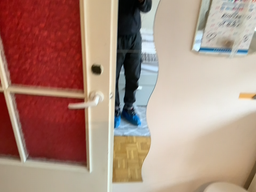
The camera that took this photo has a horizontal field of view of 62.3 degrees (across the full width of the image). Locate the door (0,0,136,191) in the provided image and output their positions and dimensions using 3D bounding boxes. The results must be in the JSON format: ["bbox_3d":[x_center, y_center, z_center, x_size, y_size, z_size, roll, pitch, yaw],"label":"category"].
[{"bbox_3d":[-0.440,0.030,0.930,0.870,2.000,0.130,3,30,-3],"label":"door"}]
